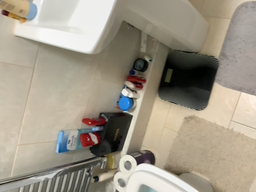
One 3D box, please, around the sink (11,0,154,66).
[{"bbox_3d":[-0.100,-0.410,0.590,0.390,0.160,0.560,20,98,35],"label":"sink"}]
